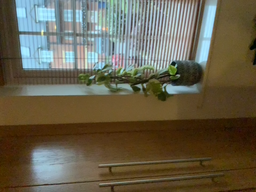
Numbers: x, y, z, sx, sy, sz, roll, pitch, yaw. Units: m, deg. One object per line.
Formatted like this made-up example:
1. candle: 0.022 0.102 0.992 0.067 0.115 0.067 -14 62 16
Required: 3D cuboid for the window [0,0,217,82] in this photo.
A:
1. window: -0.110 -0.630 1.050 0.100 1.210 1.130 -114 27 -65
